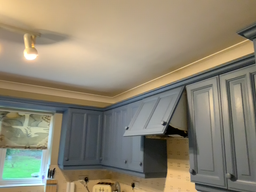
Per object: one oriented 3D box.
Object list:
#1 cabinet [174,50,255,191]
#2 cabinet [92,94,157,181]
[{"bbox_3d":[0.660,0.230,1.360,0.300,0.830,0.690,9,-15,-29],"label":"cabinet"},{"bbox_3d":[-0.080,0.500,2.570,0.310,0.830,0.990,9,-15,-29],"label":"cabinet"}]
